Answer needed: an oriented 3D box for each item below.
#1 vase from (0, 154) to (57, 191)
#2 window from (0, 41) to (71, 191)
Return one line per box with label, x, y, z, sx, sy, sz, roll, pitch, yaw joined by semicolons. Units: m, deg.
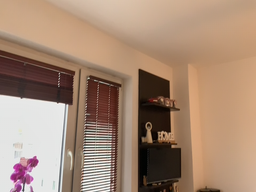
vase;-0.650;0.700;1.270;0.380;0.650;0.220;-9;-16;43
window;-0.790;0.390;1.280;0.770;1.430;0.180;12;-16;-43
